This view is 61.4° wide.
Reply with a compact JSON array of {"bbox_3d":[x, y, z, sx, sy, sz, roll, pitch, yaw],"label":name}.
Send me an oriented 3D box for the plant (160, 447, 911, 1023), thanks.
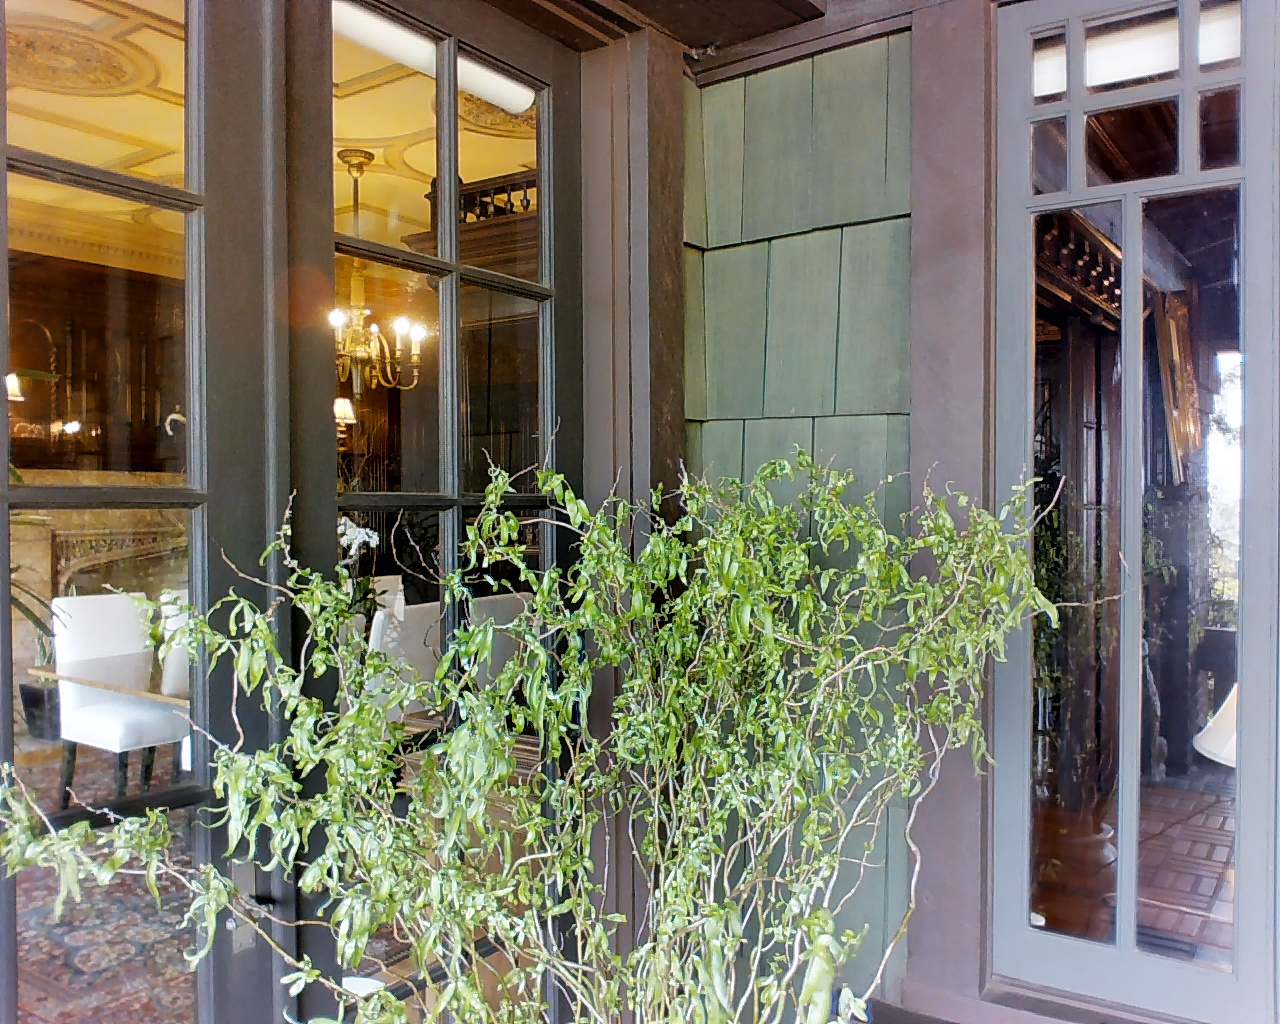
[{"bbox_3d":[-0.160,0.710,1.680,0.930,1.580,0.680,0,1,-10],"label":"plant"}]
